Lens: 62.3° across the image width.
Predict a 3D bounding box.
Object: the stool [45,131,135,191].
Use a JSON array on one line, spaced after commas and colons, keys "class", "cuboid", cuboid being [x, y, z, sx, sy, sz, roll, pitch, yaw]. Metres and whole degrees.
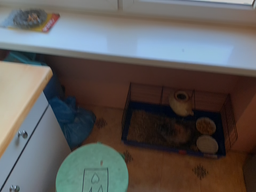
[{"class": "stool", "cuboid": [-0.160, 0.480, 1.110, 0.330, 0.470, 0.340, 8, 49, 6]}]
